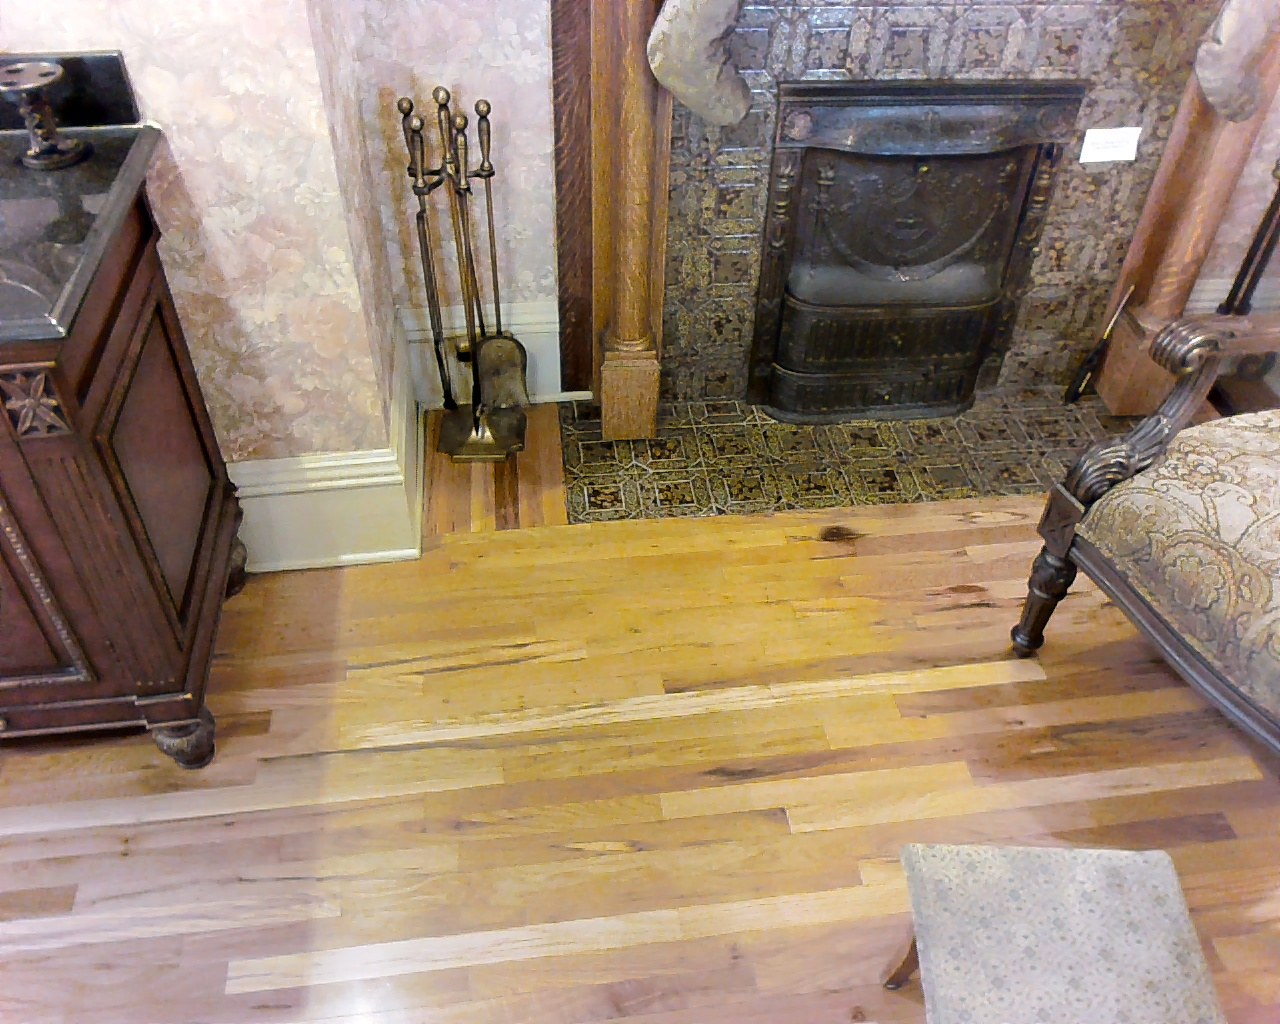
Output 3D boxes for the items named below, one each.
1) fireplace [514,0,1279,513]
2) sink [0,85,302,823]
[{"bbox_3d":[0.650,-0.820,2.010,1.730,1.660,0.410,-5,43,-5],"label":"fireplace"},{"bbox_3d":[-1.170,-0.030,1.640,1.030,0.960,0.580,-5,43,-5],"label":"sink"}]
